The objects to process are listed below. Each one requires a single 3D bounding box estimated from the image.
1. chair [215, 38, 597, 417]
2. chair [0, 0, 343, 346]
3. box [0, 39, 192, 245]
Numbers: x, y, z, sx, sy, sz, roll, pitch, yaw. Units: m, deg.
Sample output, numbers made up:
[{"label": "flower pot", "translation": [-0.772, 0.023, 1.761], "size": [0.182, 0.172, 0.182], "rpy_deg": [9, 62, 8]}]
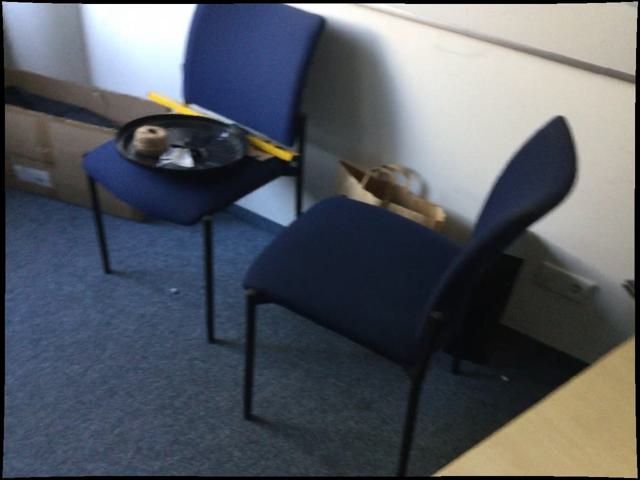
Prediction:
[{"label": "chair", "translation": [0.170, -0.070, 1.270], "size": [0.600, 0.460, 0.500], "rpy_deg": [24, 42, 20]}, {"label": "chair", "translation": [-0.390, -0.280, 1.740], "size": [0.610, 0.820, 0.610], "rpy_deg": [23, 42, 19]}, {"label": "box", "translation": [-0.979, -0.400, 2.170], "size": [0.859, 0.360, 0.460], "rpy_deg": [23, 42, 19]}]
